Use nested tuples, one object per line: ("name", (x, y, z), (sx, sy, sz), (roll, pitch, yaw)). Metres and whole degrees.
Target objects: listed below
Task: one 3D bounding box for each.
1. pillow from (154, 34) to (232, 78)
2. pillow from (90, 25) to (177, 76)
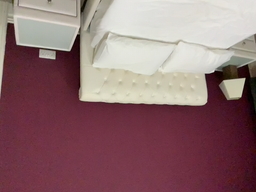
("pillow", (0.650, -0.380, 2.160), (0.610, 0.230, 0.420), (3, 166, -23))
("pillow", (0.040, -0.380, 1.920), (0.680, 0.240, 0.380), (2, 166, -23))
